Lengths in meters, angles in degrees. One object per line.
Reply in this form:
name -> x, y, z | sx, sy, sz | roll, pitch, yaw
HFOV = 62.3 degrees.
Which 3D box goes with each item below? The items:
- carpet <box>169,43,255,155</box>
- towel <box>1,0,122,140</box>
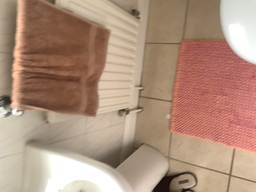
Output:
carpet -> 0.650, 0.020, 1.060 | 0.850, 0.010, 0.550 | 8, 96, 27
towel -> -0.190, -0.100, 0.750 | 0.110, 0.450, 0.400 | 6, 95, 27
